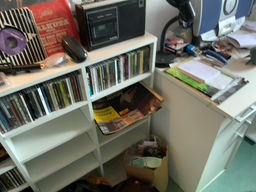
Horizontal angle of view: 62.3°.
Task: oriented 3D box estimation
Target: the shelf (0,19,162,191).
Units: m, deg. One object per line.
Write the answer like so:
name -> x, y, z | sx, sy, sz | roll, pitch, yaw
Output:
shelf -> -0.330, 0.220, 1.030 | 1.030, 0.900, 0.190 | -25, 46, -25
